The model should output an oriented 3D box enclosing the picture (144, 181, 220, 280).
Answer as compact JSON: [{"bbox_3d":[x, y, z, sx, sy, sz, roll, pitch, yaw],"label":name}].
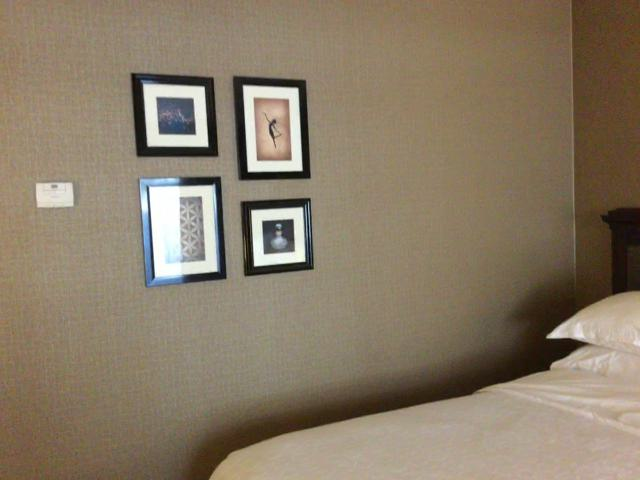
[{"bbox_3d":[-0.530,-0.040,2.230,0.270,0.370,0.040,-2,-1,-22],"label":"picture"}]

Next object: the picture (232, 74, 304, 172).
[{"bbox_3d":[-0.210,-0.470,2.350,0.280,0.380,0.040,-2,-1,-22],"label":"picture"}]

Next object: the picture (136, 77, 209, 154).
[{"bbox_3d":[-0.560,-0.470,2.200,0.260,0.270,0.040,-2,-1,-22],"label":"picture"}]
